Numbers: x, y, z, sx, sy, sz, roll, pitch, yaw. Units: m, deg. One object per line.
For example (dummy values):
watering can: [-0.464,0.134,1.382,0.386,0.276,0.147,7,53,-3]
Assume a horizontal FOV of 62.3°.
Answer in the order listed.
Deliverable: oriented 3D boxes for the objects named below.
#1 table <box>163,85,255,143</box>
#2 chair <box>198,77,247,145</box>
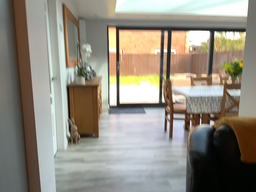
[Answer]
table: [1.660,0.250,3.720,1.870,0.770,0.910,-1,10,-7]
chair: [1.470,0.210,3.370,0.420,0.960,0.530,0,10,-6]
